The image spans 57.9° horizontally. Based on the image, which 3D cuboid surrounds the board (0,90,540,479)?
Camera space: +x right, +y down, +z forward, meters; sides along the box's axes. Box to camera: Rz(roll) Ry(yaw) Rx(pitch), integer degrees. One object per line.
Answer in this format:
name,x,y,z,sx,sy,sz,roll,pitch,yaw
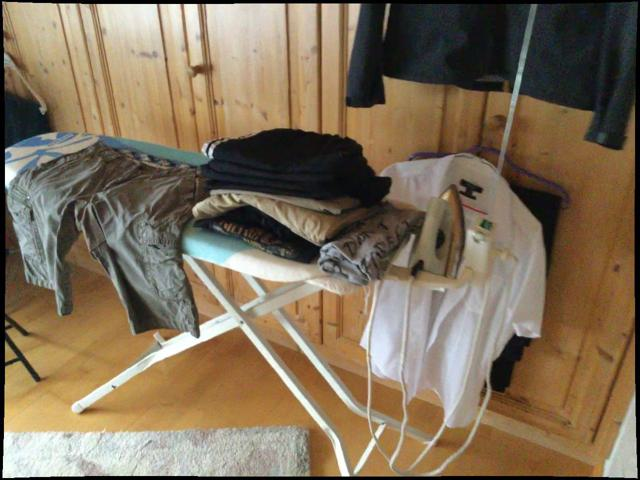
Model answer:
board,-0.270,0.190,1.630,1.469,0.901,0.470,16,37,25
